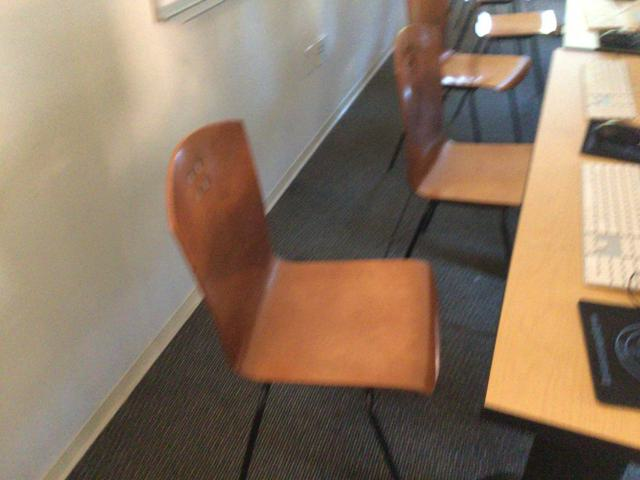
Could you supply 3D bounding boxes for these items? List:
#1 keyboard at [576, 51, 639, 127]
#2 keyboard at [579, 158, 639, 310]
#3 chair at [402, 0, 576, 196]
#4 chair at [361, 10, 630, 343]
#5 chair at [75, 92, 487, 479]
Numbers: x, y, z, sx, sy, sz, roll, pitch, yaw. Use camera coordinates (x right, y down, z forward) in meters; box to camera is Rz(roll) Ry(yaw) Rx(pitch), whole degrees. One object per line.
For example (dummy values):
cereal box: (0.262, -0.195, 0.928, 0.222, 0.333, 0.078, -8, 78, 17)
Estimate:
keyboard: (0.780, -0.410, 1.530, 0.180, 0.030, 0.470, 10, 36, 17)
keyboard: (0.530, -0.030, 1.030, 0.120, 0.030, 0.440, 10, 36, 17)
chair: (0.700, -0.700, 2.440, 0.560, 0.810, 0.500, 10, 36, 17)
chair: (0.490, -0.210, 1.770, 0.600, 0.800, 0.500, 10, 36, 17)
chair: (0.000, 0.180, 1.230, 0.580, 0.780, 0.570, 6, 35, 11)
